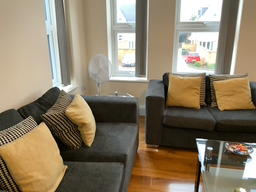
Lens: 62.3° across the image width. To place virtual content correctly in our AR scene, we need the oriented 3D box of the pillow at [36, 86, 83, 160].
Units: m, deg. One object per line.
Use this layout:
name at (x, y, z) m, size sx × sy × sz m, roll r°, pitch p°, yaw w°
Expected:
pillow at (-0.590, 0.240, 1.940) m, size 0.180 × 0.440 × 0.500 m, roll -3°, pitch 37°, yaw 3°

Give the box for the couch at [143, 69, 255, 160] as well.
couch at (1.040, 0.150, 2.740) m, size 1.570 × 0.790 × 1.010 m, roll 3°, pitch 18°, yaw 11°

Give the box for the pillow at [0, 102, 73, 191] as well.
pillow at (-0.580, 0.400, 1.400) m, size 0.180 × 0.450 × 0.570 m, roll -2°, pitch 42°, yaw 5°

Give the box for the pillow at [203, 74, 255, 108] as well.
pillow at (1.280, -0.060, 2.760) m, size 0.510 × 0.430 × 0.170 m, roll 2°, pitch 48°, yaw 9°

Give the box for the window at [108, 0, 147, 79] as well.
window at (0.000, -1.110, 3.460) m, size 0.590 × 1.630 × 0.220 m, roll 1°, pitch 17°, yaw 5°

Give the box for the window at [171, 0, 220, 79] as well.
window at (1.080, -1.080, 3.440) m, size 0.680 × 1.610 × 0.080 m, roll 3°, pitch 18°, yaw 10°

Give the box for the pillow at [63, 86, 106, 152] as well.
pillow at (-0.380, 0.200, 1.990) m, size 0.200 × 0.360 × 0.510 m, roll 1°, pitch 35°, yaw 8°

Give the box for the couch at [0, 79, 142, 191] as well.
couch at (-0.510, 0.470, 1.760) m, size 1.020 × 0.790 × 1.880 m, roll 3°, pitch 18°, yaw 10°

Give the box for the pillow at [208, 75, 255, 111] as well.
pillow at (1.290, -0.030, 2.640) m, size 0.450 × 0.420 × 0.160 m, roll -5°, pitch 47°, yaw 3°
